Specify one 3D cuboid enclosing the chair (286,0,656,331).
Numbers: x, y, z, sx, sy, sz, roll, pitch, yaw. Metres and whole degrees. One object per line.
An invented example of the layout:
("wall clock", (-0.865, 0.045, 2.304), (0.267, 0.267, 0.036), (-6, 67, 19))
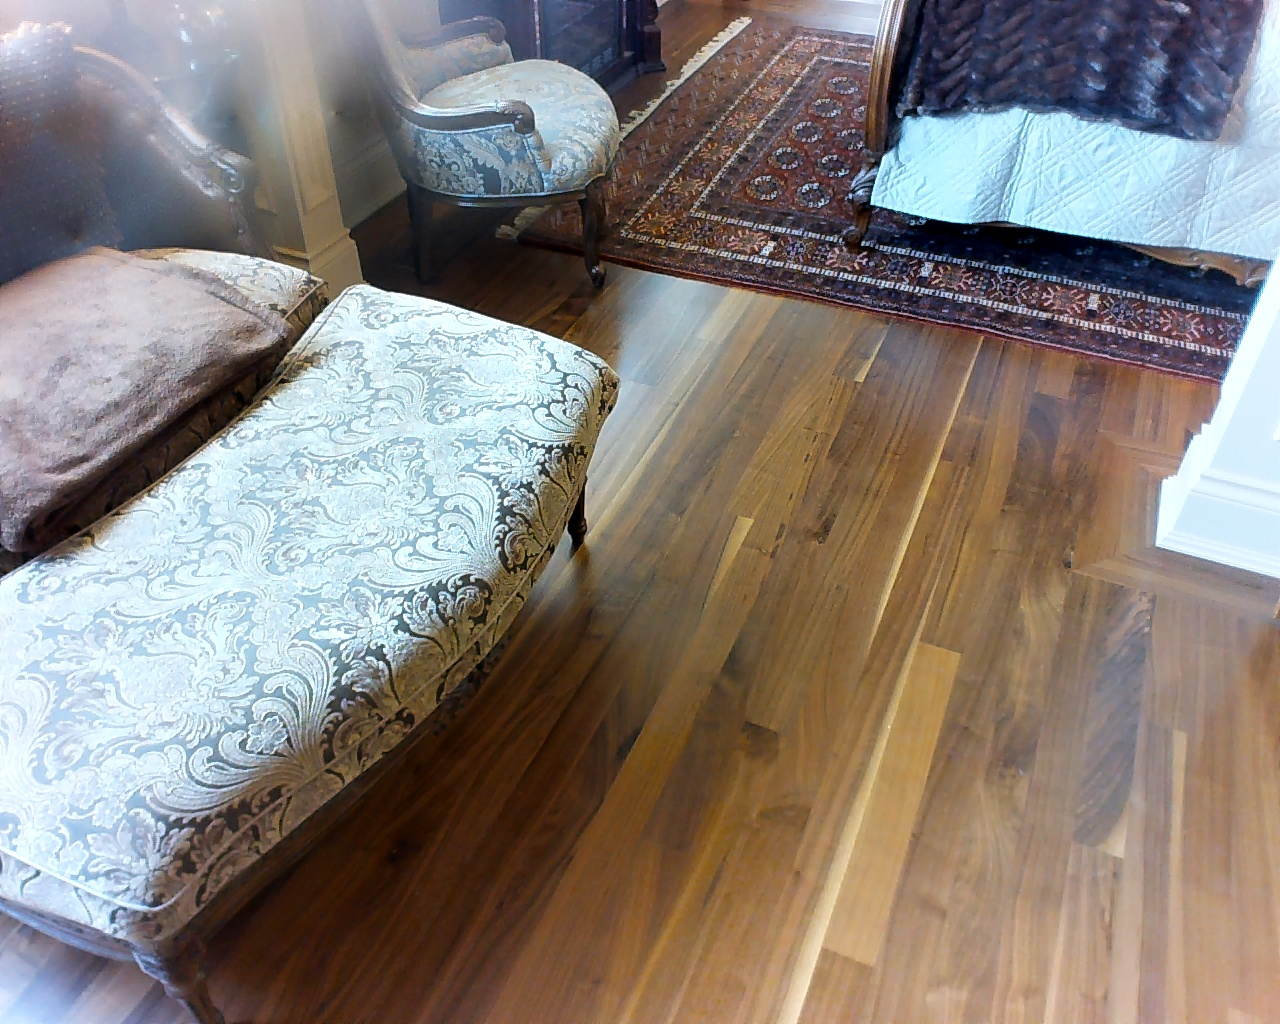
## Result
("chair", (-0.420, -1.180, 2.740), (0.790, 1.120, 0.760), (-6, 42, -8))
